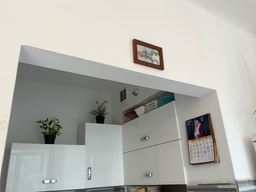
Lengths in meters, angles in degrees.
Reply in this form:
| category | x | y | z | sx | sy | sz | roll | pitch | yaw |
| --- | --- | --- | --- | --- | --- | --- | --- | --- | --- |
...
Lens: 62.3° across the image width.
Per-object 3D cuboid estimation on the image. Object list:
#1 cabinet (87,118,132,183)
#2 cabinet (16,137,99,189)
| category | x | y | z | sx | sy | sz | roll | pitch | yaw |
| --- | --- | --- | --- | --- | --- | --- | --- | --- | --- |
| cabinet | -0.190 | 0.540 | 2.090 | 0.350 | 0.570 | 0.240 | 9 | -24 | -29 |
| cabinet | -0.580 | 0.570 | 1.800 | 0.600 | 0.360 | 0.290 | 9 | -24 | -29 |
